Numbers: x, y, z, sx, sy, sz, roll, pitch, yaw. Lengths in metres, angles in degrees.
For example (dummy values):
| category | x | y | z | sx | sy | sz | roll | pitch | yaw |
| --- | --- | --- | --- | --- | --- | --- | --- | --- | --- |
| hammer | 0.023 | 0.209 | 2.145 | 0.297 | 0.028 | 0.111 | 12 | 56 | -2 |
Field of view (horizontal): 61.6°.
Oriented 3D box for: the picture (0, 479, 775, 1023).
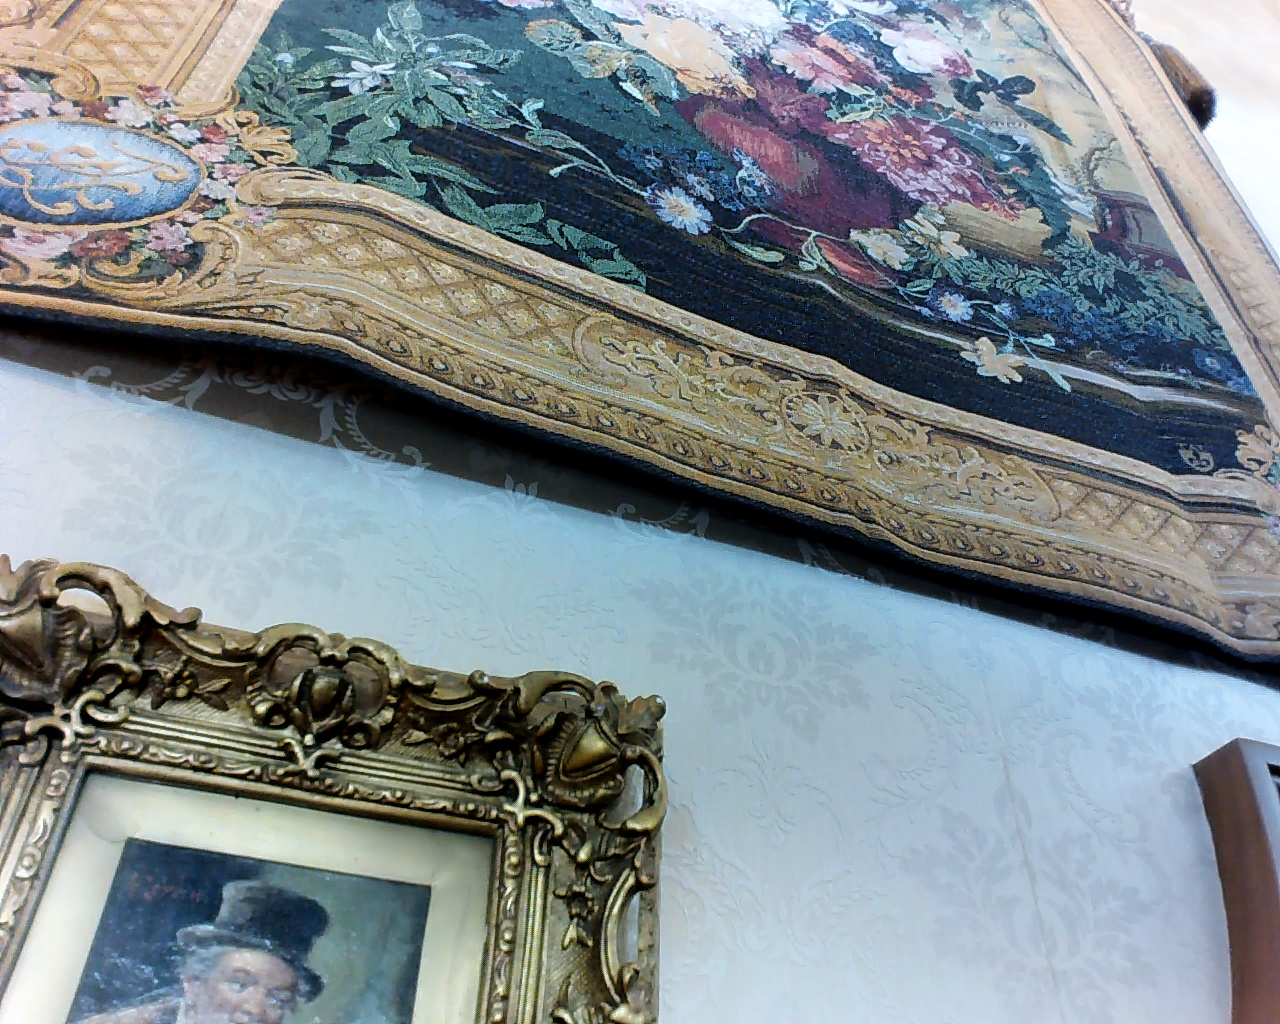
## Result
| category | x | y | z | sx | sy | sz | roll | pitch | yaw |
| --- | --- | --- | --- | --- | --- | --- | --- | --- | --- |
| picture | -0.140 | 0.220 | 0.420 | 0.380 | 0.430 | 0.100 | 15 | -44 | -13 |

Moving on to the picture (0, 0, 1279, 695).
| category | x | y | z | sx | sy | sz | roll | pitch | yaw |
| --- | --- | --- | --- | --- | --- | --- | --- | --- | --- |
| picture | 0.200 | -0.510 | 1.280 | 1.539 | 1.470 | 0.080 | 15 | -44 | -13 |
